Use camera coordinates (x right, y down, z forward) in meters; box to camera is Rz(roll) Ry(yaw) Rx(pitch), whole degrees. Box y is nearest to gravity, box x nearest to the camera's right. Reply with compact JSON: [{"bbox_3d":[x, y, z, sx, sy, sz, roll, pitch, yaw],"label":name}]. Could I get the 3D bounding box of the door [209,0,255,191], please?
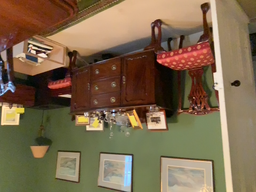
[{"bbox_3d":[0.940,0.050,1.760,0.060,2.090,0.900,-10,164,43],"label":"door"}]
